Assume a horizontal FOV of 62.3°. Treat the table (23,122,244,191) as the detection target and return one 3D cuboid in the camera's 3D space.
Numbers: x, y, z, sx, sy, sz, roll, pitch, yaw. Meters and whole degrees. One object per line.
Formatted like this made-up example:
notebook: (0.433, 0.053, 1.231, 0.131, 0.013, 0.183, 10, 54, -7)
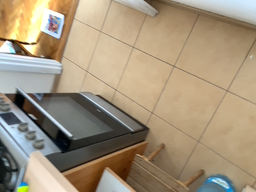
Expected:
table: (0.040, 0.580, 0.950, 0.560, 0.840, 0.630, 30, 107, 29)
